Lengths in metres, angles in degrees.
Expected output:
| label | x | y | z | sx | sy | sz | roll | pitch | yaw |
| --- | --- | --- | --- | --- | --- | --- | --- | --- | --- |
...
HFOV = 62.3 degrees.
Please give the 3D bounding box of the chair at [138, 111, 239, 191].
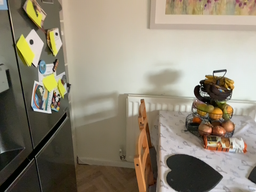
| label | x | y | z | sx | sy | sz | roll | pitch | yaw |
| --- | --- | --- | --- | --- | --- | --- | --- | --- | --- |
| chair | 0.270 | 0.630 | 1.270 | 0.410 | 0.960 | 0.410 | 4 | 22 | 6 |
